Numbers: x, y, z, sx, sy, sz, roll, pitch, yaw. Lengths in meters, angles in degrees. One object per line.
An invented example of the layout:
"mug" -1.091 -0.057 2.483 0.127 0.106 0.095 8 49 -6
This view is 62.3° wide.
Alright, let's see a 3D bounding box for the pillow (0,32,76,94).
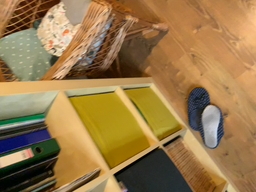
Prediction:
"pillow" -0.490 -0.170 1.050 0.340 0.290 0.120 40 116 25
